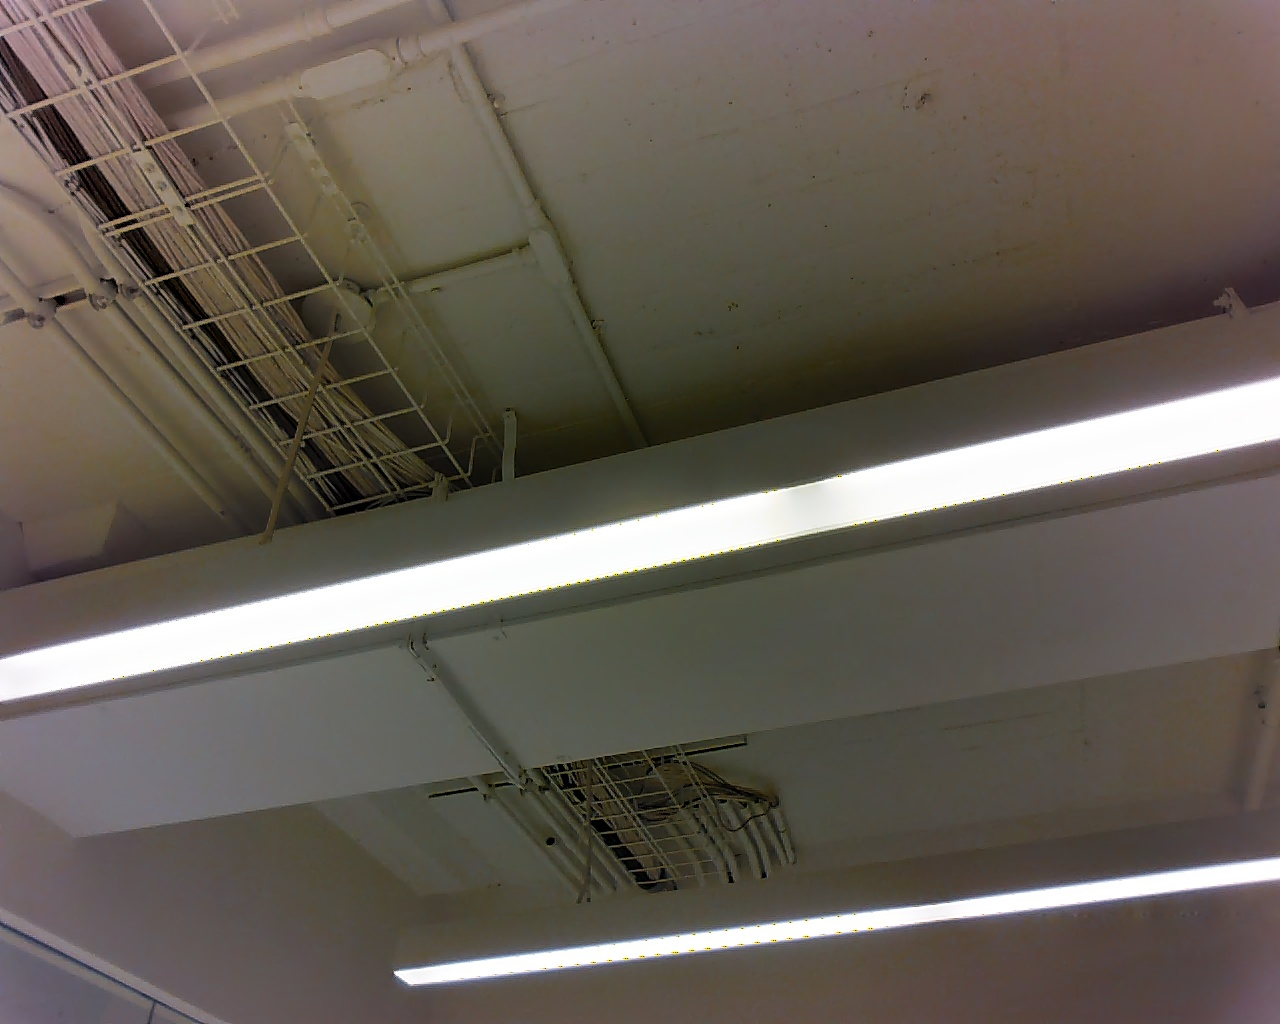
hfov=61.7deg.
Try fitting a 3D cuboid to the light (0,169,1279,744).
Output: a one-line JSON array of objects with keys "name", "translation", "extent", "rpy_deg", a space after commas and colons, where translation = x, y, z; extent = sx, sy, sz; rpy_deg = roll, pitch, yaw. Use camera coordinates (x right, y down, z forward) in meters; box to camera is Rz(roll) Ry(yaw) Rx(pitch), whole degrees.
[{"name": "light", "translation": [0.190, -0.080, 1.350], "extent": [2.508, 0.260, 0.280], "rpy_deg": [-12, -43, 13]}]
